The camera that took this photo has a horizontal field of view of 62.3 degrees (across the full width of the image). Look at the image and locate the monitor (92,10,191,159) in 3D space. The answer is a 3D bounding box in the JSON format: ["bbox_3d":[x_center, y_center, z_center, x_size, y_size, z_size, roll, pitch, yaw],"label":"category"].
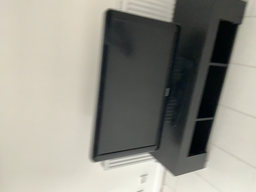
[{"bbox_3d":[0.100,-0.040,1.420,0.050,0.620,0.890,28,114,55],"label":"monitor"}]

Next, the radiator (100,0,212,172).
[{"bbox_3d":[0.220,-0.070,1.750,0.110,0.740,1.400,32,118,54],"label":"radiator"}]

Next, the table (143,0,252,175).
[{"bbox_3d":[0.490,-0.090,1.710,0.470,0.340,1.280,30,116,55],"label":"table"}]
